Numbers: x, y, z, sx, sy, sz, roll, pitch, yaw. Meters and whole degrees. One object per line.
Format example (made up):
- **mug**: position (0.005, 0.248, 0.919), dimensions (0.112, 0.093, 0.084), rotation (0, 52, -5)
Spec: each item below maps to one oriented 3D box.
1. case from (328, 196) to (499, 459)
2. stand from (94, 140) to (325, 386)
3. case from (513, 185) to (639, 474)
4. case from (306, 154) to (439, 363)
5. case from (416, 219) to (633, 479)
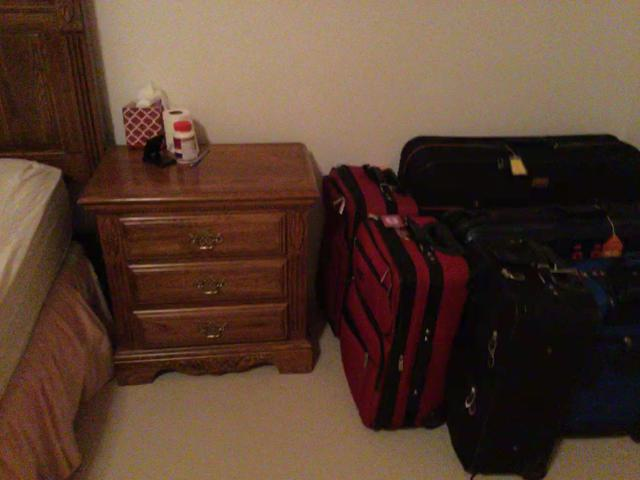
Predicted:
- **case**: position (0.230, 0.230, 1.710), dimensions (0.310, 0.590, 0.500), rotation (0, 22, -8)
- **stand**: position (-0.330, 0.060, 1.880), dimensions (0.610, 0.660, 0.450), rotation (1, 22, -7)
- **case**: position (0.880, 0.240, 1.540), dimensions (0.520, 0.720, 0.250), rotation (0, 22, -8)
- **case**: position (0.150, 0.050, 2.010), dimensions (0.330, 0.600, 0.420), rotation (0, 22, -8)
- **case**: position (0.490, 0.300, 1.530), dimensions (0.300, 0.610, 0.390), rotation (0, 22, -8)
